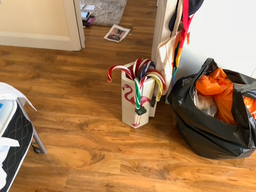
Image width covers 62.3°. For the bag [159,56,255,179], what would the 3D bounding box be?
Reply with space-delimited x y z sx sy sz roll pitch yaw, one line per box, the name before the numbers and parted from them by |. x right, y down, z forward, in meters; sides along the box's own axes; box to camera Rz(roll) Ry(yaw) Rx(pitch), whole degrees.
bag | 0.580 0.140 1.330 0.670 0.510 0.480 8 48 4

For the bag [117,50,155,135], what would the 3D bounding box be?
bag | 0.050 -0.010 1.490 0.210 0.500 0.320 6 48 2
